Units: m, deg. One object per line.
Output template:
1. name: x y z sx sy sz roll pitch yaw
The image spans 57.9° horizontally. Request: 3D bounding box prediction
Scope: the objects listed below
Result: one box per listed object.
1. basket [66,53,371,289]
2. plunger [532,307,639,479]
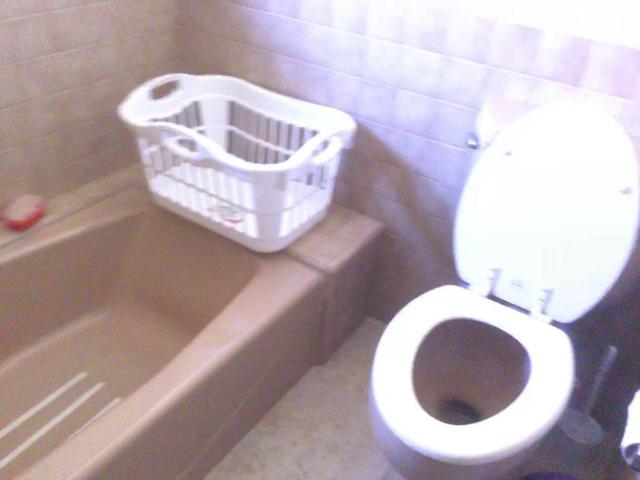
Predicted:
1. basket: -0.280 -0.240 1.650 0.700 0.360 0.430 22 38 27
2. plunger: 0.660 0.380 1.430 0.130 0.360 0.190 22 38 27
